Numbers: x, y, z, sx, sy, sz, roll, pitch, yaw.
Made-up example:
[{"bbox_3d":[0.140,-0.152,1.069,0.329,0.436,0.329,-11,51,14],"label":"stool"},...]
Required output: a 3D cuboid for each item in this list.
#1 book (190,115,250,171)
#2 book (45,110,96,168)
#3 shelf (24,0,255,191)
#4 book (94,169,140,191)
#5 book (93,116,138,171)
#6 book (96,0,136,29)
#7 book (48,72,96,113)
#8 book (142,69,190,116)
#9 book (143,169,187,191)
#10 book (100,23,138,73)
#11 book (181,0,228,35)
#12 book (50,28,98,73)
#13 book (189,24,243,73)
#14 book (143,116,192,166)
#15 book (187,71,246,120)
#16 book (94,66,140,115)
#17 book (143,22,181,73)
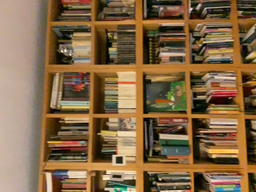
[{"bbox_3d":[0.750,0.380,1.790,0.320,0.360,0.410,75,-164,-82],"label":"book"},{"bbox_3d":[-0.480,0.360,1.840,0.320,0.320,0.440,76,-165,-81],"label":"book"},{"bbox_3d":[0.430,1.170,1.790,0.480,2.480,4.360,73,-163,-82],"label":"shelf"},{"bbox_3d":[-0.080,0.810,1.780,0.300,0.360,0.300,61,-150,-85],"label":"book"},{"bbox_3d":[-0.090,0.400,1.880,0.410,0.350,0.420,75,-164,-82],"label":"book"},{"bbox_3d":[-0.100,-0.840,1.940,0.140,0.350,0.410,78,-167,-79],"label":"book"},{"bbox_3d":[-0.470,-0.030,1.820,0.110,0.360,0.330,81,-170,-76],"label":"book"},{"bbox_3d":[0.320,-0.020,1.890,0.300,0.380,0.360,78,-167,-79],"label":"book"},{"bbox_3d":[0.300,0.800,1.790,0.310,0.330,0.300,79,-168,-79],"label":"book"},{"bbox_3d":[-0.070,-0.430,1.940,0.270,0.320,0.370,80,-169,-78],"label":"book"},{"bbox_3d":[0.680,-0.770,1.940,0.280,0.330,0.320,76,-165,-81],"label":"book"},{"bbox_3d":[-0.480,-0.410,1.950,0.240,0.350,0.340,80,-169,-78],"label":"book"},{"bbox_3d":[0.760,-0.410,1.870,0.200,0.380,0.370,78,-167,-79],"label":"book"},{"bbox_3d":[0.320,0.380,1.830,0.280,0.370,0.380,77,-167,-80],"label":"book"},{"bbox_3d":[0.750,0.010,1.860,0.310,0.370,0.380,78,-167,-79],"label":"book"},{"bbox_3d":[-0.080,-0.040,1.900,0.320,0.370,0.370,80,-169,-78],"label":"book"},{"bbox_3d":[0.300,-0.430,1.940,0.250,0.310,0.390,77,-167,-80],"label":"book"}]
